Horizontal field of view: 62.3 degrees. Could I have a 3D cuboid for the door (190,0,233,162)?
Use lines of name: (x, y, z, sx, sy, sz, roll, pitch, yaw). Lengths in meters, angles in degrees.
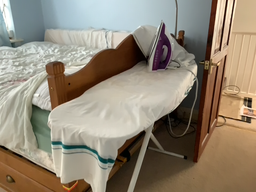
door: (0.710, -0.490, 1.660, 0.030, 1.940, 0.750, 13, 25, 29)
